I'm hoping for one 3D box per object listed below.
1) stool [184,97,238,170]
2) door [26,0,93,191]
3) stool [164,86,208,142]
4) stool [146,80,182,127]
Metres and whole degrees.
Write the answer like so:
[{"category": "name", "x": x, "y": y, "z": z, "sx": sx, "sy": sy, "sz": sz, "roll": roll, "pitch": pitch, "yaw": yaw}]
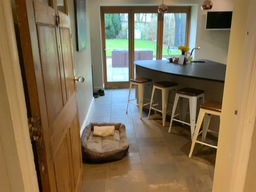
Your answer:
[{"category": "stool", "x": 1.000, "y": 0.420, "z": 2.570, "sx": 0.410, "sy": 0.670, "sz": 0.430, "roll": 14, "pitch": 22, "yaw": 39}, {"category": "door", "x": -0.490, "y": -0.060, "z": 1.750, "sx": 0.170, "sy": 2.200, "sz": 0.770, "roll": 0, "pitch": 17, "yaw": 1}, {"category": "stool", "x": 0.860, "y": 0.240, "z": 3.180, "sx": 0.420, "sy": 0.660, "sz": 0.430, "roll": 16, "pitch": 23, "yaw": 42}, {"category": "stool", "x": 0.610, "y": 0.110, "z": 3.620, "sx": 0.410, "sy": 0.660, "sz": 0.410, "roll": -14, "pitch": 21, "yaw": -38}]
